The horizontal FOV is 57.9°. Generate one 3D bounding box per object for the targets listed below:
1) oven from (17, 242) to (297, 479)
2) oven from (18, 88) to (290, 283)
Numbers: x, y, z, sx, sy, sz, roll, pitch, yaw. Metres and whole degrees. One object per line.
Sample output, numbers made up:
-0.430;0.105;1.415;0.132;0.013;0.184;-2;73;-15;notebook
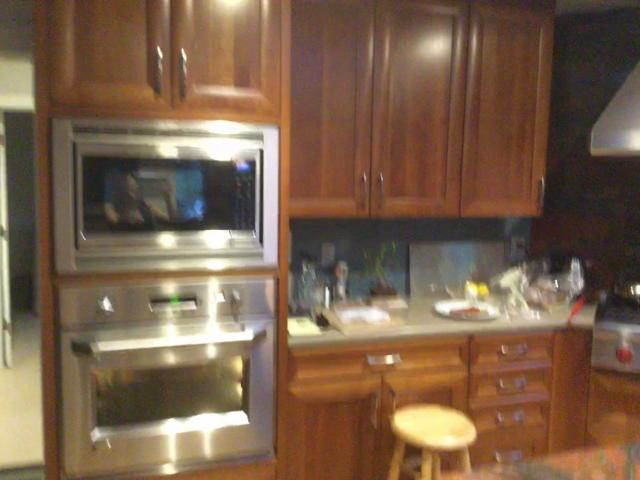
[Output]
-0.520;0.420;1.990;0.840;0.760;0.280;-2;9;-16;oven
-0.510;-0.180;1.900;0.810;0.580;0.140;-2;9;-16;oven
